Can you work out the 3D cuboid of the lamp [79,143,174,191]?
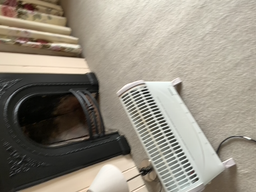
[{"bbox_3d":[0.000,0.470,1.210,0.230,0.450,0.220,-45,64,38],"label":"lamp"}]
